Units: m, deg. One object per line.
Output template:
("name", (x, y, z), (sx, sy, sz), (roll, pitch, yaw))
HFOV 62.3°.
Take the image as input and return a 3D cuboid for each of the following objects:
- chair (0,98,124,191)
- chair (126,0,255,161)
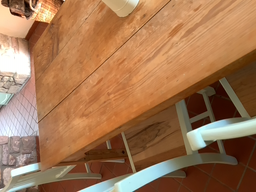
("chair", (-0.560, 0.400, 1.690), (0.450, 0.850, 0.510), (-42, 56, 32))
("chair", (0.490, -0.130, 0.730), (0.420, 0.850, 0.510), (-34, 61, 36))
